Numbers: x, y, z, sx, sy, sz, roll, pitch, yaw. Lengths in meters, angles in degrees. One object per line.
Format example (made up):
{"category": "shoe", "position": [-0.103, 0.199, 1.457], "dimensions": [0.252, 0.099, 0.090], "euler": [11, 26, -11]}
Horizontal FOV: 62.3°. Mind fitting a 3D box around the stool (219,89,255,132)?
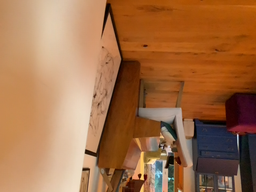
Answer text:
{"category": "stool", "position": [1.530, 0.200, 2.780], "dimensions": [0.460, 0.440, 0.460], "euler": [2, 162, 5]}
